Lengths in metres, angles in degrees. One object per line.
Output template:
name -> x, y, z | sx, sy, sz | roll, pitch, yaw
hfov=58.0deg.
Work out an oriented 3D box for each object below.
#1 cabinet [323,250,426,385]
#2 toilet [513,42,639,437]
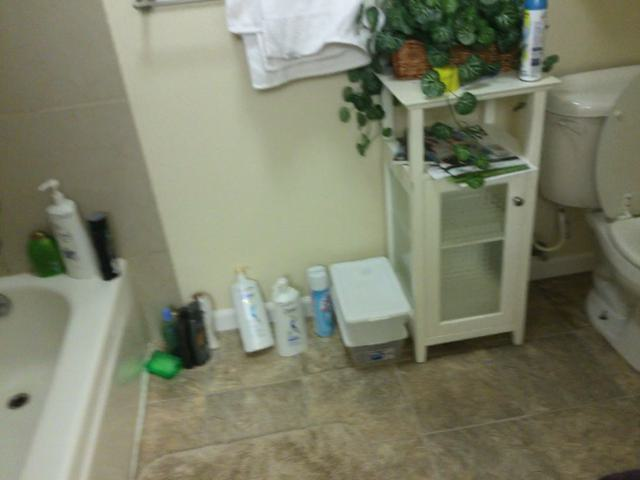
cabinet -> 0.170, 0.240, 1.900 | 0.240, 0.230, 0.380 | -9, 28, -5
toilet -> 1.040, -0.070, 1.650 | 0.630, 0.830, 0.750 | -9, 28, -5
